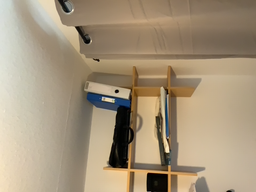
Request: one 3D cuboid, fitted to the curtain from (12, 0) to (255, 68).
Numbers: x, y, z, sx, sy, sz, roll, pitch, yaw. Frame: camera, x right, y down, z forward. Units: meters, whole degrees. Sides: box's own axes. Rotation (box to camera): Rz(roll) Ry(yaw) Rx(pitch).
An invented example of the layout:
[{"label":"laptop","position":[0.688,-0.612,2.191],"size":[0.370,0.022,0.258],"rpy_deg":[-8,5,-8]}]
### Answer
[{"label":"curtain","position":[0.350,-0.290,0.950],"size":[0.600,1.460,0.090],"rpy_deg":[62,-150,-72]}]
